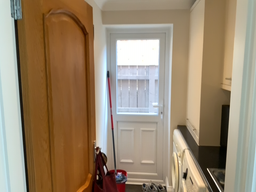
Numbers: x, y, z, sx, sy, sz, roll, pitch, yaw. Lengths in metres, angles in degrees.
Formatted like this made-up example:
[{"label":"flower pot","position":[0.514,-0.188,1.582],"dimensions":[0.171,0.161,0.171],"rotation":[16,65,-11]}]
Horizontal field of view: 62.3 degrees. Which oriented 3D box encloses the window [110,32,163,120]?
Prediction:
[{"label":"window","position":[0.100,-0.250,2.800],"dimensions":[0.650,1.130,0.160],"rotation":[0,9,-2]}]
